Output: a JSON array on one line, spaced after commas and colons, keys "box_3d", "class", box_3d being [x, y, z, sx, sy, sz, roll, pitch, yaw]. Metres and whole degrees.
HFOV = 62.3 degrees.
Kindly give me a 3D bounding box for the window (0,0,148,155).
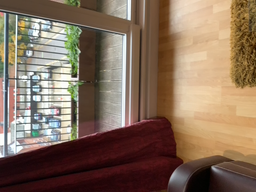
[{"box_3d": [-0.700, -0.740, 1.440, 0.130, 2.090, 2.230, 5, 95, 54], "class": "window"}]
